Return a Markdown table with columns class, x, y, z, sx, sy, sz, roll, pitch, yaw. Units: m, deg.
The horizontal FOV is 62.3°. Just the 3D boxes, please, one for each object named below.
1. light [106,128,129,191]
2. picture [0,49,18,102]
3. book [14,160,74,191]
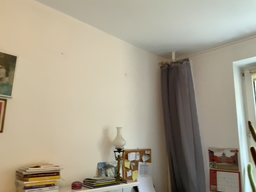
| class | x | y | z | sx | sy | sz | roll | pitch | yaw |
| --- | --- | --- | --- | --- | --- | --- | --- | --- | --- |
| light | -0.090 | 0.590 | 1.950 | 0.180 | 0.570 | 0.090 | 13 | -17 | -42 |
| picture | -0.880 | -0.150 | 1.420 | 0.220 | 0.350 | 0.020 | 12 | -16 | -39 |
| book | -0.560 | 0.550 | 1.430 | 0.320 | 0.210 | 0.180 | 12 | -16 | -39 |
